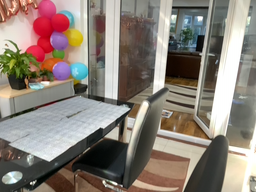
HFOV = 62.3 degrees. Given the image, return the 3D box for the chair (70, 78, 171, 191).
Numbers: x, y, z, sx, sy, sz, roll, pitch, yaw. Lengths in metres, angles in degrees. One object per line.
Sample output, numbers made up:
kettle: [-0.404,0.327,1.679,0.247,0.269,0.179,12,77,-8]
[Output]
chair: [-0.060,0.450,1.590,0.560,1.050,0.420,10,18,24]
